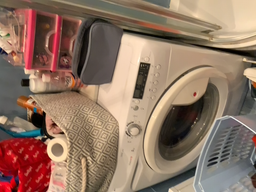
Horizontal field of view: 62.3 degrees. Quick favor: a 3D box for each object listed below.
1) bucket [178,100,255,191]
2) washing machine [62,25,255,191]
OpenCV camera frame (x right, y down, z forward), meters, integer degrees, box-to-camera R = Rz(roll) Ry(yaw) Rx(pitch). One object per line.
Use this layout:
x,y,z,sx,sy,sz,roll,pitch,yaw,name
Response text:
0.530,0.260,0.900,0.290,0.530,0.390,26,112,47,bucket
0.190,0.050,1.100,0.510,0.840,0.640,26,112,47,washing machine
